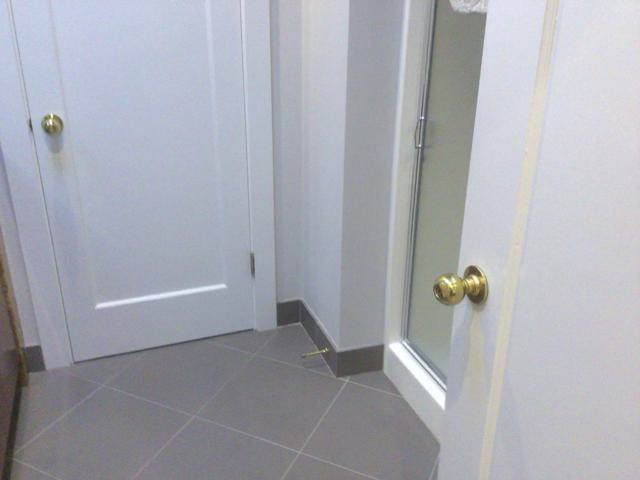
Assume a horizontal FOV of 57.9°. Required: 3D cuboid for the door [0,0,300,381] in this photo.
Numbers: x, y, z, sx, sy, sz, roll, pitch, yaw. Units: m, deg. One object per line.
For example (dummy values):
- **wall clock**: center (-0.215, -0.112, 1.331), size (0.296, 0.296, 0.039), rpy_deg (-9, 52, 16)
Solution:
- **door**: center (-0.540, -0.550, 1.830), size (1.000, 2.090, 0.070), rpy_deg (-9, 26, -22)
